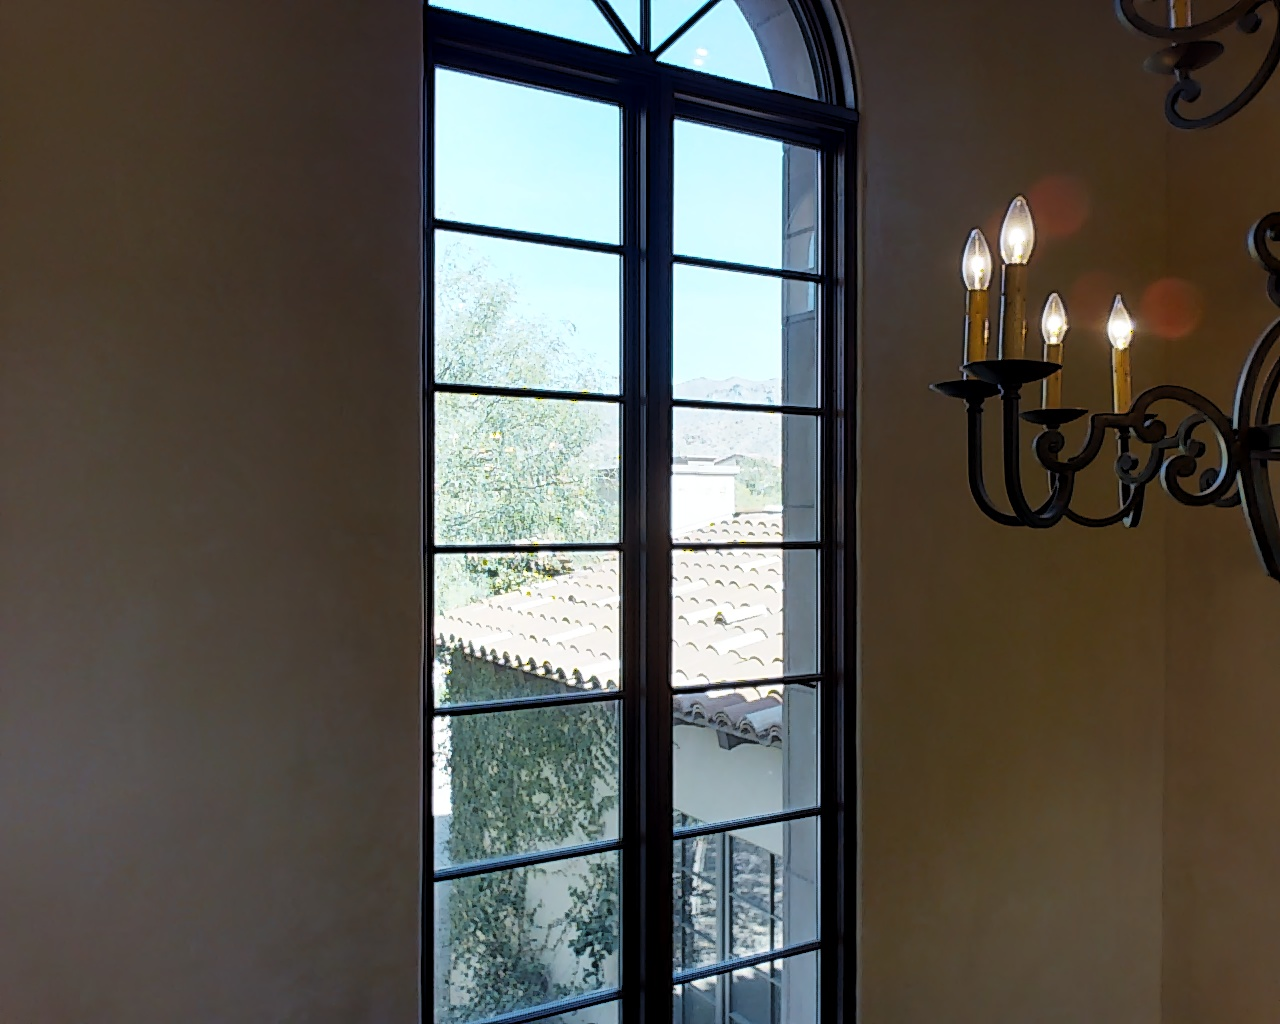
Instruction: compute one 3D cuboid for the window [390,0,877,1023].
[{"bbox_3d":[0.040,-0.070,2.720,1.290,3.410,0.190,1,-1,-30],"label":"window"}]
